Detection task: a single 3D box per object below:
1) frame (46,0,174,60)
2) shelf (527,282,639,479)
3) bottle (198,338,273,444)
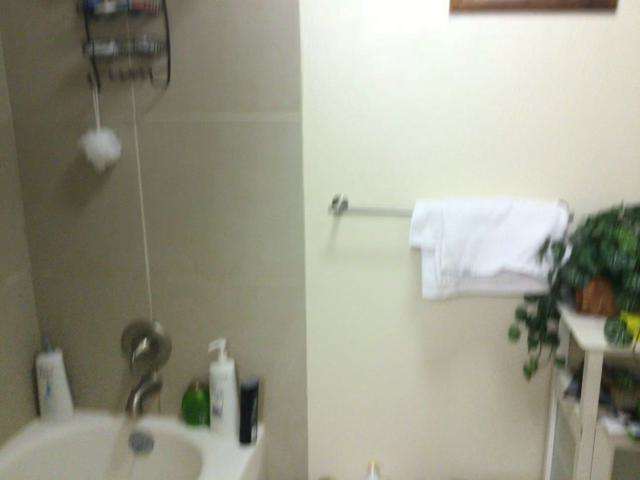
[{"bbox_3d":[-0.580,-0.630,1.600,0.300,0.230,0.130,2,12,12],"label":"frame"},{"bbox_3d":[0.790,0.610,1.450,0.440,0.900,0.450,2,12,12],"label":"shelf"},{"bbox_3d":[-0.260,0.470,1.810,0.200,0.300,0.090,2,12,12],"label":"bottle"}]
